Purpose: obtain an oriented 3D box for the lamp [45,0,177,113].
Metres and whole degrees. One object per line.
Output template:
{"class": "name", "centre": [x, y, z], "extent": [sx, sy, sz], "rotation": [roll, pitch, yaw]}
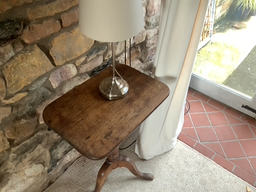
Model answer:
{"class": "lamp", "centre": [-0.060, -0.250, 0.860], "extent": [0.350, 0.430, 0.320], "rotation": [29, 50, 26]}
